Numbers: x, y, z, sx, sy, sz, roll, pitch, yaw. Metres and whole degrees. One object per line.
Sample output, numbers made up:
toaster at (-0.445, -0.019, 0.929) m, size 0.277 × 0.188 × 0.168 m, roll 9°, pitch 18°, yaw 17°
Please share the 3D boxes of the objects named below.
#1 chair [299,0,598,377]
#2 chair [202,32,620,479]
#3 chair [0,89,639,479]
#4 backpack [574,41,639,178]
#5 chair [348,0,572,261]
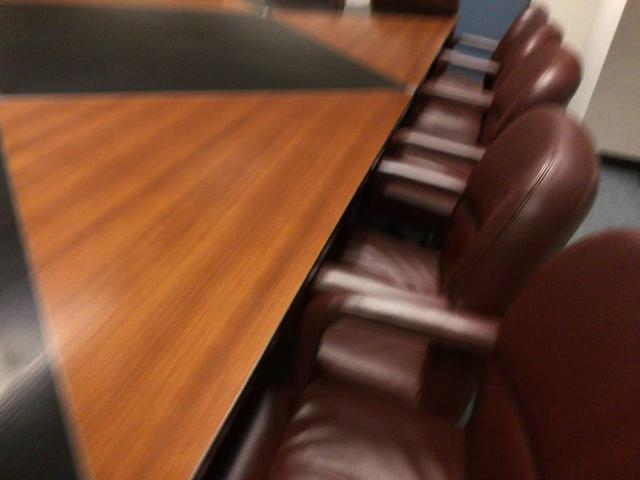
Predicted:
chair at (0.400, -0.210, 1.940) m, size 0.650 × 0.960 × 0.670 m, roll 17°, pitch 34°, yaw 13°
chair at (0.160, 0.110, 1.340) m, size 0.630 × 0.920 × 0.610 m, roll 17°, pitch 34°, yaw 13°
chair at (0.040, 0.410, 0.820) m, size 0.590 × 1.010 × 0.510 m, roll 17°, pitch 34°, yaw 13°
backpack at (1.740, -0.740, 3.270) m, size 0.380 × 0.610 × 0.370 m, roll 17°, pitch 34°, yaw 13°
chair at (0.580, -0.520, 2.470) m, size 0.650 × 0.900 × 0.600 m, roll 17°, pitch 34°, yaw 13°
